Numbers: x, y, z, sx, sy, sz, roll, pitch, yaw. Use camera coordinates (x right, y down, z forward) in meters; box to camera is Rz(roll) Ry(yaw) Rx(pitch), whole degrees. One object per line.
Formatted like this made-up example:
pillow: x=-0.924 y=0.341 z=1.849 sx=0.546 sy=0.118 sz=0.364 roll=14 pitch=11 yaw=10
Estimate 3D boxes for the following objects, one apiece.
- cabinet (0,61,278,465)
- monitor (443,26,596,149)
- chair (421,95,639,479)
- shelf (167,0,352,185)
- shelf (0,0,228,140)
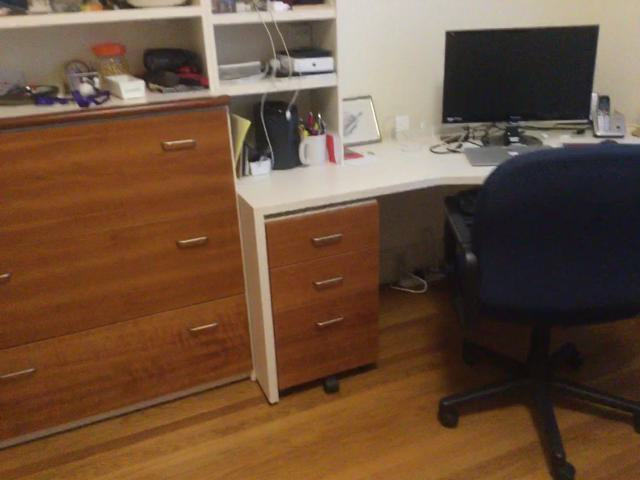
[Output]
cabinet: x=-0.720 y=0.020 z=1.920 sx=0.970 sy=1.080 sz=0.510 roll=-12 pitch=24 yaw=-22
monitor: x=0.740 y=-0.580 z=2.220 sx=0.500 sy=0.430 sz=0.170 roll=1 pitch=23 yaw=9
chair: x=0.680 y=0.130 z=1.730 sx=0.690 sy=0.990 sz=0.680 roll=0 pitch=22 yaw=7
shelf: x=-0.220 y=-0.960 z=1.860 sx=0.520 sy=1.460 sz=0.340 roll=-12 pitch=24 yaw=-22
shelf: x=-0.820 y=-0.920 z=1.590 sx=0.940 sy=1.190 sz=0.370 roll=-12 pitch=24 yaw=-22
